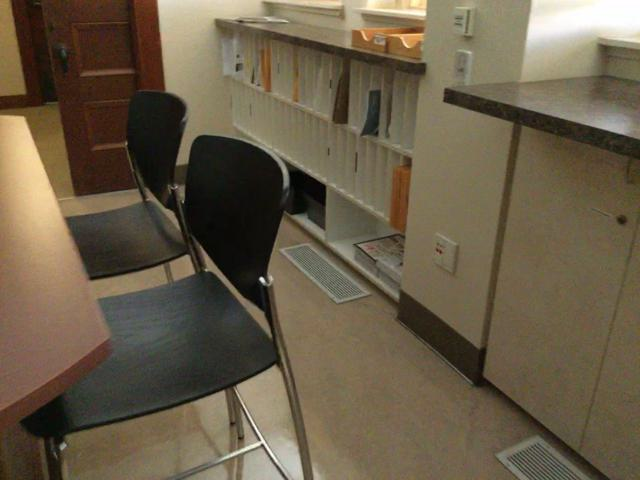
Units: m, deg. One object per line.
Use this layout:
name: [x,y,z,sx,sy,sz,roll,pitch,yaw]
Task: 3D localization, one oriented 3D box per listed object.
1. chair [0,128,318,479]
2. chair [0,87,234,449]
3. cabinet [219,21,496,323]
chair: [-0.380,0.280,1.310,0.570,0.920,0.480,-10,27,-25]
chair: [-0.610,0.050,1.770,0.530,0.910,0.480,-10,27,-25]
cabinet: [-0.030,-0.580,3.190,0.320,1.010,2.300,-10,27,-25]
